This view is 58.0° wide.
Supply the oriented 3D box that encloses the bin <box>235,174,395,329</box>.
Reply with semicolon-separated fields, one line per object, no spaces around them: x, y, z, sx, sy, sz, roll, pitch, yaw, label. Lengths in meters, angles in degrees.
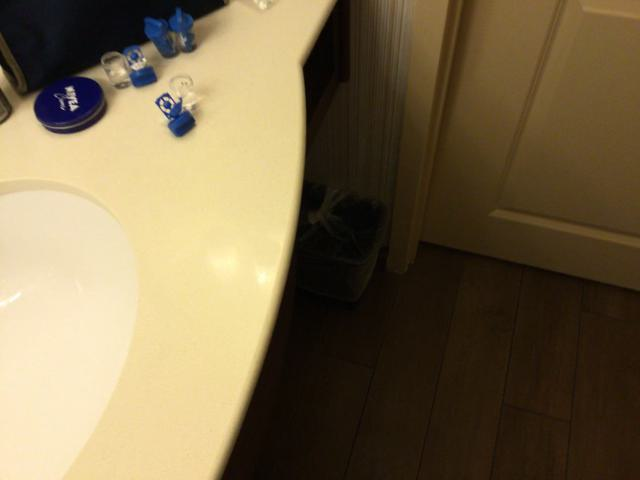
0.000;0.030;1.380;0.310;0.270;0.190;13;57;13;bin
